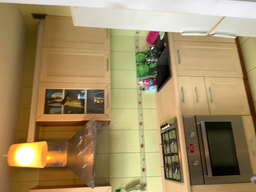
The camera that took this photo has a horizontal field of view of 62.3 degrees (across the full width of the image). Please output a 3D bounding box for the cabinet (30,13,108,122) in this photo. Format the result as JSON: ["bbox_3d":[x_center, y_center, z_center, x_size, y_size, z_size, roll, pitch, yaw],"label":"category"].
[{"bbox_3d":[-0.610,-0.310,2.400,0.310,0.750,1.170,118,152,-72],"label":"cabinet"}]

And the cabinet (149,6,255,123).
[{"bbox_3d":[0.770,-0.320,2.480,0.580,0.870,1.190,118,152,-72],"label":"cabinet"}]

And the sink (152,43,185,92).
[{"bbox_3d":[0.440,-0.300,2.410,0.480,0.190,0.380,118,152,-72],"label":"sink"}]
